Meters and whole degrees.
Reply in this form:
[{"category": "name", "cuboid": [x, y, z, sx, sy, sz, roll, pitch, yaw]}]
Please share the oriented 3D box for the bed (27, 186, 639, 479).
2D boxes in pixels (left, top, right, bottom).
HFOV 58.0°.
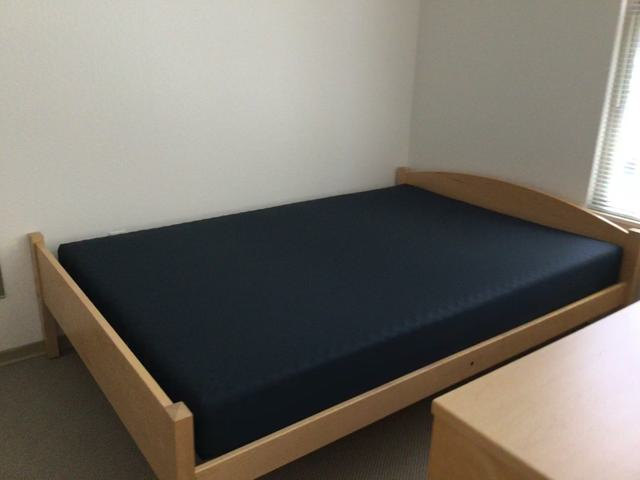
[{"category": "bed", "cuboid": [0.150, 0.260, 2.440, 2.240, 0.570, 1.440, -13, 15, -32]}]
